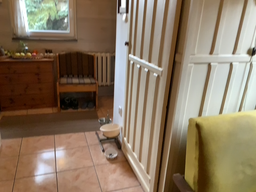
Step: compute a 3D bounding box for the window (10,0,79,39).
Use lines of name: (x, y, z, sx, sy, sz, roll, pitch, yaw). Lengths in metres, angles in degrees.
window: (-1.250, -1.470, 3.220, 0.940, 1.130, 0.250, -3, 22, -19)

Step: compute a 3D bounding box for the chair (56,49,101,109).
chair: (-0.780, -0.290, 3.360, 0.620, 0.810, 0.510, -2, 22, -15)
